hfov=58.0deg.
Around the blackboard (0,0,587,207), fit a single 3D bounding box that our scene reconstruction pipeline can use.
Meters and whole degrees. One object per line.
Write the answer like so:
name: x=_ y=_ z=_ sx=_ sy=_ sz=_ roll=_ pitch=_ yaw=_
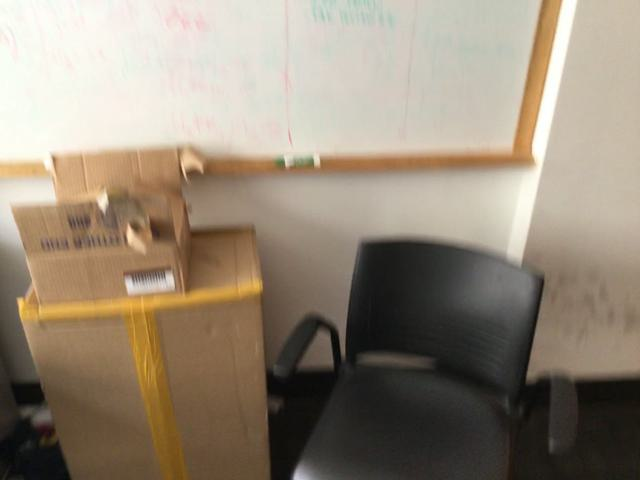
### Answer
blackboard: x=-0.330 y=-0.720 z=1.190 sx=1.840 sy=1.330 sz=0.130 roll=-2 pitch=27 yaw=-3
